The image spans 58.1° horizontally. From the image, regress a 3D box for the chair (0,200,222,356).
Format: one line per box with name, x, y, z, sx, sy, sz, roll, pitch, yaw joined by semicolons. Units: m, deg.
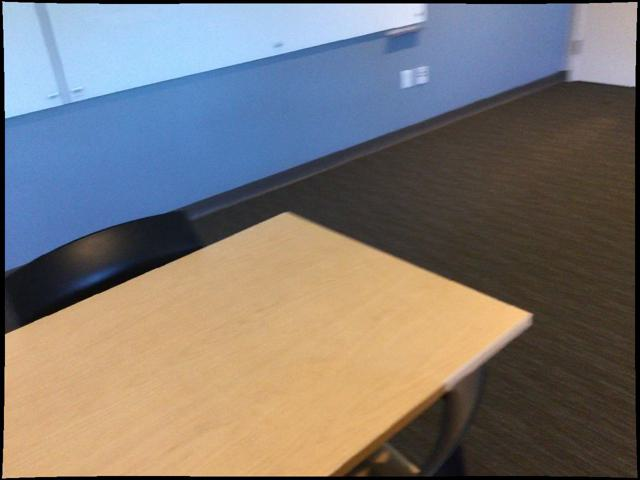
chair;-0.539;0.070;1.440;0.539;0.110;0.210;-26;35;-31
